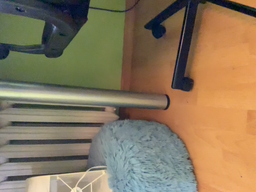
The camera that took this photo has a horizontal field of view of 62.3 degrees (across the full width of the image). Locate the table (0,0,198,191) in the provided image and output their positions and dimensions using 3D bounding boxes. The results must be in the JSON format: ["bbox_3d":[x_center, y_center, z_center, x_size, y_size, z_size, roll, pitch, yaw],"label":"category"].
[{"bbox_3d":[-0.230,-0.020,0.910,0.600,0.760,2.130,3,89,64],"label":"table"}]

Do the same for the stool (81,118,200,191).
[{"bbox_3d":[0.010,0.360,0.890,0.460,0.290,0.480,3,89,64],"label":"stool"}]
